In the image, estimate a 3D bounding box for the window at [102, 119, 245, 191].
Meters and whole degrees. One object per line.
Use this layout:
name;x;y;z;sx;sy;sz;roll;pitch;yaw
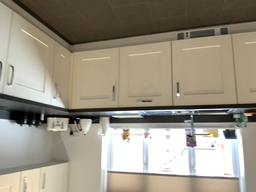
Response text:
window;0.540;0.910;2.880;1.800;1.140;0.240;-3;169;15
